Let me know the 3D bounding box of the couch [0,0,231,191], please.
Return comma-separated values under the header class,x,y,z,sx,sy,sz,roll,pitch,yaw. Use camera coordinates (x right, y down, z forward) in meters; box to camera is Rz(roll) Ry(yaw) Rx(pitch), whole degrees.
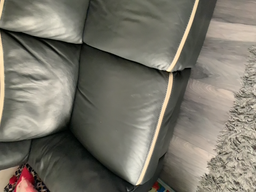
class,x,y,z,sx,sy,sz,roll,pitch,yaw
couch,-0.160,-0.530,0.990,1.020,0.950,2.360,24,110,30
